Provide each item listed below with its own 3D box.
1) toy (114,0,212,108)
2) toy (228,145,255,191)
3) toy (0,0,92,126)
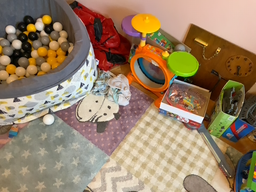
[{"bbox_3d":[0.190,-0.270,1.450,0.490,0.520,0.280,31,60,14],"label":"toy"},{"bbox_3d":[0.720,0.450,1.220,0.140,0.180,0.250,29,60,13],"label":"toy"},{"bbox_3d":[-0.690,-0.260,1.410,0.800,0.420,0.760,-6,59,-9],"label":"toy"}]
